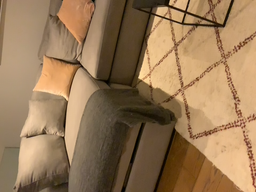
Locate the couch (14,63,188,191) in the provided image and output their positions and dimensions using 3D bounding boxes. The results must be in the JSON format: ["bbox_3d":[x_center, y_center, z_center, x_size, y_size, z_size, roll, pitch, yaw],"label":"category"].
[{"bbox_3d":[-0.330,0.500,1.640,0.800,0.920,1.200,42,120,60],"label":"couch"}]

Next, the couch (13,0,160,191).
[{"bbox_3d":[-0.460,-0.640,2.240,1.090,0.930,3.010,42,120,60],"label":"couch"}]
